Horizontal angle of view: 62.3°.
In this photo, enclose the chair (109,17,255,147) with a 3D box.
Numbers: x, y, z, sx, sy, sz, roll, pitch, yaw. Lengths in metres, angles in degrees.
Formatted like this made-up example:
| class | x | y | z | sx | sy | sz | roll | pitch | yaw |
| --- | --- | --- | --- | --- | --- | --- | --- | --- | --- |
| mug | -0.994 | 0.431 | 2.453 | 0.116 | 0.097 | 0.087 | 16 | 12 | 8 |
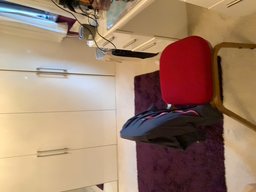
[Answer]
| class | x | y | z | sx | sy | sz | roll | pitch | yaw |
| --- | --- | --- | --- | --- | --- | --- | --- | --- | --- |
| chair | 0.350 | -0.060 | 1.340 | 0.460 | 0.800 | 0.580 | -4 | 87 | 60 |
